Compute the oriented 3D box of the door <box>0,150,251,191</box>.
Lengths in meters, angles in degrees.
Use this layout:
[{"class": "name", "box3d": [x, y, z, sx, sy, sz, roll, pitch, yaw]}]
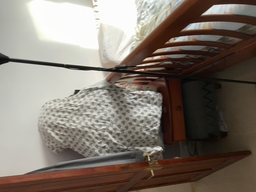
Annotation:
[{"class": "door", "box3d": [-0.110, 0.620, 1.520, 0.790, 1.920, 0.040, 120, 144, -50]}]
